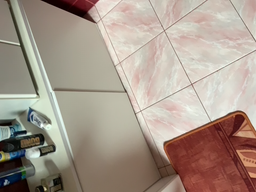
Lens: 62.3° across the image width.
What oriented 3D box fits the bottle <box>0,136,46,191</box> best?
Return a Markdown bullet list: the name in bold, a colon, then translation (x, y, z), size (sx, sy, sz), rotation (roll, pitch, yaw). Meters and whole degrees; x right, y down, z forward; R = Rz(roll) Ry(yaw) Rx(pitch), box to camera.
- **bottle**: translation (-0.500, 0.300, 0.860), size (0.100, 0.250, 0.210), rotation (-30, 75, 28)
